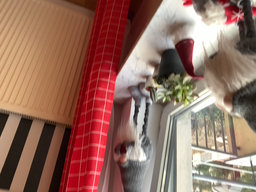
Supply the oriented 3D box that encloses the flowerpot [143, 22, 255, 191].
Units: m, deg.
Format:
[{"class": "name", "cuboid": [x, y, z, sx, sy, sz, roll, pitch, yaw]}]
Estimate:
[{"class": "flowerpot", "cuboid": [0.350, 0.090, 0.810, 0.430, 0.440, 0.410, 14, 151, -13]}]
